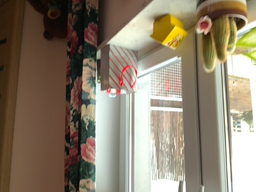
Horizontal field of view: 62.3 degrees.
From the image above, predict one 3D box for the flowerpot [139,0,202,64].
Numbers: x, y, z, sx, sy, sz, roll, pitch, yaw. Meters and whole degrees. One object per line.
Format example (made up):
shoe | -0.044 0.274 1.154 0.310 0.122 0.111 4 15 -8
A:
flowerpot | 0.160 -0.240 0.850 0.140 0.150 0.210 5 170 -30
